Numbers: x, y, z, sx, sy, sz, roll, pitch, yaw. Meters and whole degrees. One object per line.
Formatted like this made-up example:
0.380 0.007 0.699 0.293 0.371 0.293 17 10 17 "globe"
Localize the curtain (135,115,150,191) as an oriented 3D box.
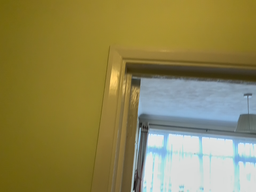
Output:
0.320 1.290 4.560 0.180 1.750 0.230 3 -13 8 "curtain"
